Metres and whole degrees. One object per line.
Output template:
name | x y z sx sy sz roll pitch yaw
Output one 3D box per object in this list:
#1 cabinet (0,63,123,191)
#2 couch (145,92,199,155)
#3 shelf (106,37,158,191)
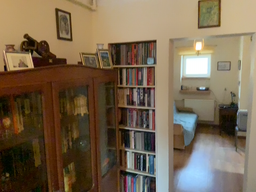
cabinet | -0.570 0.610 1.670 0.480 1.680 1.500 2 7 23
couch | 1.230 0.510 5.380 0.890 0.970 2.430 2 7 22
shelf | 0.050 0.320 2.570 0.600 1.970 0.110 2 7 23
